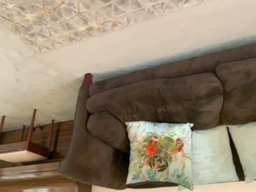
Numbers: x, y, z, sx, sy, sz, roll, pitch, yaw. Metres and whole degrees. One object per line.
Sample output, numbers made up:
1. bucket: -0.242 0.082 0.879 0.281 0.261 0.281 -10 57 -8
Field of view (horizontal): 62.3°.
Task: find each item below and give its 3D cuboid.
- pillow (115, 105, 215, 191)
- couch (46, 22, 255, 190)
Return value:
1. pillow: 0.280 0.480 1.740 0.540 0.550 0.300 -29 146 -9
2. couch: 0.750 0.210 1.770 2.330 0.850 1.200 -11 149 16
